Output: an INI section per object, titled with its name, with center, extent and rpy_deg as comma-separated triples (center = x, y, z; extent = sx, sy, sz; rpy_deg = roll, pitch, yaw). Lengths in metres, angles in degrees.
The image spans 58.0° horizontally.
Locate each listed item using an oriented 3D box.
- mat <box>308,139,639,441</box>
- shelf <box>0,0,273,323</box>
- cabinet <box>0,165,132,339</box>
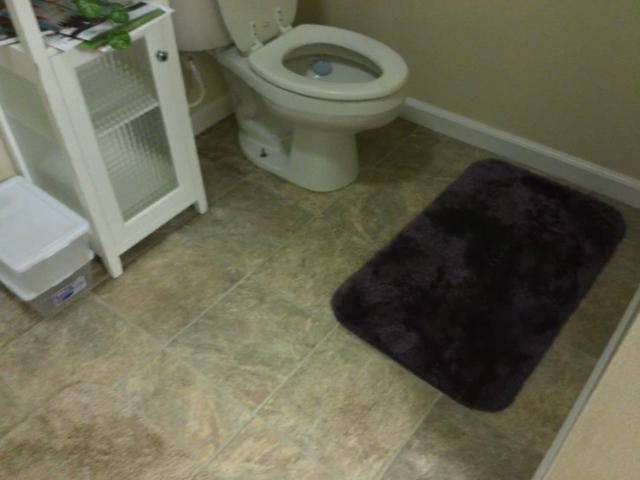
[mat]
center = 0.470, 0.050, 1.600
extent = 0.560, 0.050, 0.880
rpy_deg = 31, 55, 29
[shelf]
center = -0.510, -0.360, 1.460
extent = 0.470, 0.880, 0.570
rpy_deg = 27, 49, 27
[cabinet]
center = -0.740, 0.020, 1.520
extent = 0.380, 0.230, 0.240
rpy_deg = 27, 49, 27
